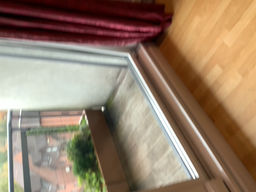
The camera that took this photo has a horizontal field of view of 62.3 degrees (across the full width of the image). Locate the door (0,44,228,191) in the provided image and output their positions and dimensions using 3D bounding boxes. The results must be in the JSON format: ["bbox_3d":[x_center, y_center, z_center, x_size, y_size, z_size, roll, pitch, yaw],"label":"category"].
[{"bbox_3d":[-0.350,0.500,0.930,0.130,2.070,2.210,-60,42,38],"label":"door"}]
